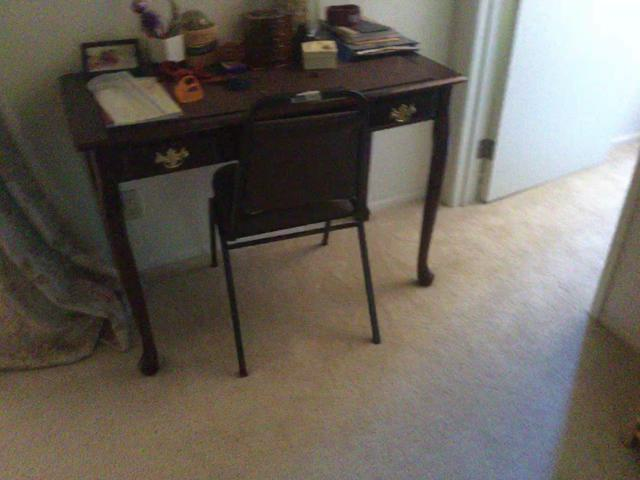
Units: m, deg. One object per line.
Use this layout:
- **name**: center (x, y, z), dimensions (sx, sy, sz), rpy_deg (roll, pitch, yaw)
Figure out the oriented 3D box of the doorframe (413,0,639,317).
- **doorframe**: center (0.710, -0.810, 1.700), dimensions (0.250, 1.900, 0.930), rpy_deg (-16, 36, -22)
